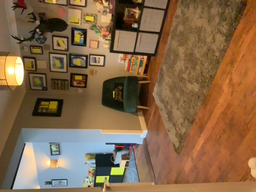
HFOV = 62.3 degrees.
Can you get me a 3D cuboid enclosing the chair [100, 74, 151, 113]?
[{"bbox_3d":[-0.090,-0.060,3.970,0.770,0.780,0.620,-163,76,-78],"label":"chair"}]
